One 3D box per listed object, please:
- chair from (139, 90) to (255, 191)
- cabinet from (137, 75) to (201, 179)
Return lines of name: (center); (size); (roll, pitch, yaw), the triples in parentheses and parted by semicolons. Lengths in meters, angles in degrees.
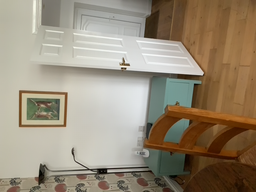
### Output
chair: (0.650, 0.350, 1.170); (0.480, 1.010, 0.540); (113, 154, -50)
cabinet: (0.490, 0.350, 2.770); (0.610, 0.480, 1.190); (-151, 65, -72)
